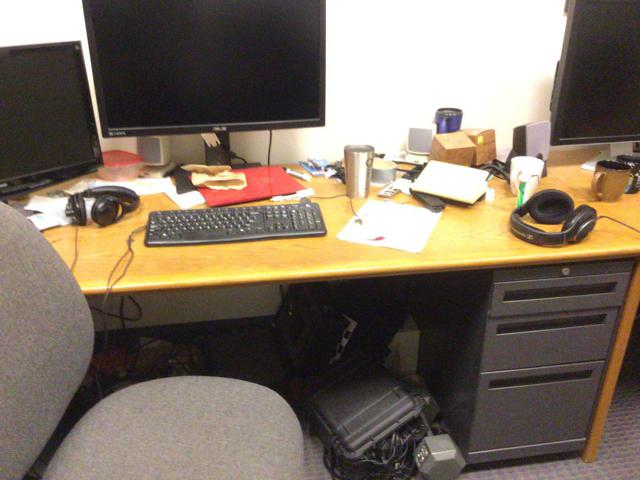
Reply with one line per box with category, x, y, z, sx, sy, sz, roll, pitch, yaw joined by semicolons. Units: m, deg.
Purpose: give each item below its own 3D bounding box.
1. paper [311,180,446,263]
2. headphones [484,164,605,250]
paper;0.160;-0.060;1.480;0.250;0.060;0.340;8;27;21
headphones;0.550;-0.090;1.450;0.170;0.120;0.250;-6;25;-8
